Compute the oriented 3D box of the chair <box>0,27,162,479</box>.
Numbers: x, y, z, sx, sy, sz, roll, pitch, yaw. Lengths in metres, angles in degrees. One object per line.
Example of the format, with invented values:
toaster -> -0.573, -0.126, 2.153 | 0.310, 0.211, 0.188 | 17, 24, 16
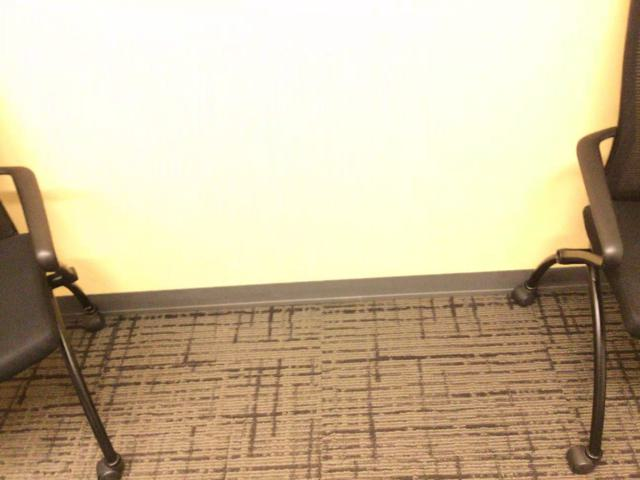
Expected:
chair -> -0.800, 0.120, 1.200 | 0.600, 0.930, 0.540 | -19, 40, -16
